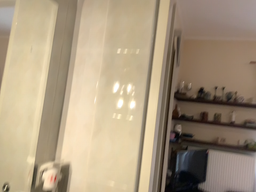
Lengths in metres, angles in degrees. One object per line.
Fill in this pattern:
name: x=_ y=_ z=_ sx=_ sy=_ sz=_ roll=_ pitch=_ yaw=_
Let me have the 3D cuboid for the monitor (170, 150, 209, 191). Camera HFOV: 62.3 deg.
monitor: x=0.950 y=1.150 z=3.210 sx=0.800 sy=0.630 sz=0.090 roll=10 pitch=-5 yaw=-40
